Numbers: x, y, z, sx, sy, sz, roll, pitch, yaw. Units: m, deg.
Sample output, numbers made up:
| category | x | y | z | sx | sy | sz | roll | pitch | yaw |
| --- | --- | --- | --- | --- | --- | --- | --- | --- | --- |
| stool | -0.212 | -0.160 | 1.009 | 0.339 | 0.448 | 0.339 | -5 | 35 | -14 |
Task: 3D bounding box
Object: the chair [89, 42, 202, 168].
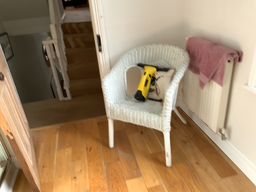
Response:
| category | x | y | z | sx | sy | sz | roll | pitch | yaw |
| --- | --- | --- | --- | --- | --- | --- | --- | --- | --- |
| chair | 0.180 | 0.010 | 1.750 | 0.620 | 0.720 | 0.630 | 12 | 33 | 29 |
